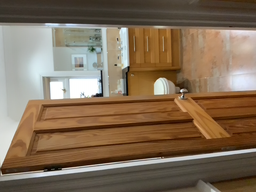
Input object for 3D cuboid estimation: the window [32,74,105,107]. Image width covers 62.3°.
[{"bbox_3d":[-0.980,-0.100,3.580,0.210,1.130,0.490,167,100,-77],"label":"window"}]
